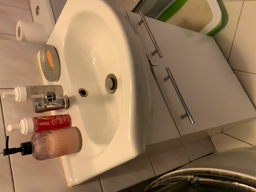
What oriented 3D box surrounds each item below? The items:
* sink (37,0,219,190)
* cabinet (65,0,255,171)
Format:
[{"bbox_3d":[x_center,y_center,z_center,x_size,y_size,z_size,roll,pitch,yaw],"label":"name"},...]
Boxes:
[{"bbox_3d":[-0.070,-0.050,0.620,0.410,0.170,0.510,-39,64,42],"label":"sink"},{"bbox_3d":[0.190,-0.050,0.910,0.310,0.730,0.480,-39,64,42],"label":"cabinet"}]
